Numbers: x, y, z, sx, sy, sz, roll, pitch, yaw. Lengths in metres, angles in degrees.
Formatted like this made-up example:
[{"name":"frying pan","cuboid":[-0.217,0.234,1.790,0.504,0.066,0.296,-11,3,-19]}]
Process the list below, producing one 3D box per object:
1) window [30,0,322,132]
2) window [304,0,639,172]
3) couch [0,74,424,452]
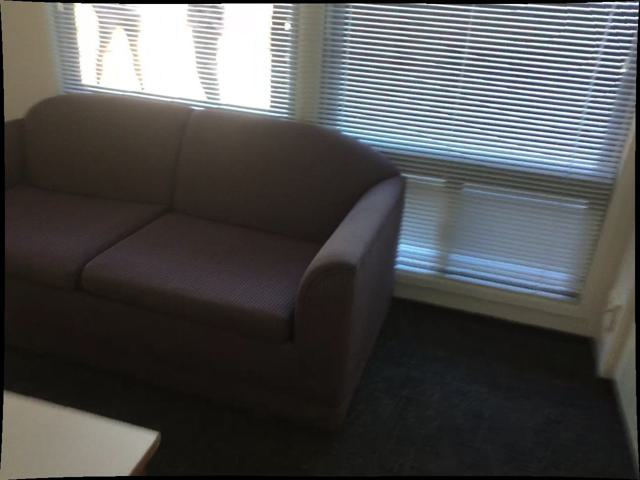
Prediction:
[{"name":"window","cuboid":[-0.569,-1.202,2.170,1.158,1.412,0.240,10,27,13]},{"name":"window","cuboid":[0.549,-1.012,1.900,1.108,1.402,0.290,10,27,13]},{"name":"couch","cuboid":[-0.599,-0.060,2.240,1.777,0.801,1.000,10,27,13]}]
